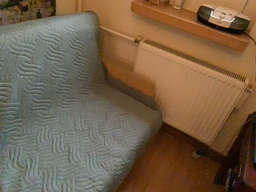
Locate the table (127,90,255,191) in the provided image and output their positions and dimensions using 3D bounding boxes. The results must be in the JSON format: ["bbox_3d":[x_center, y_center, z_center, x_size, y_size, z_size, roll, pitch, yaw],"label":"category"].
[{"bbox_3d":[0.380,0.460,1.250,0.430,0.660,0.740,-4,38,-23],"label":"table"}]
